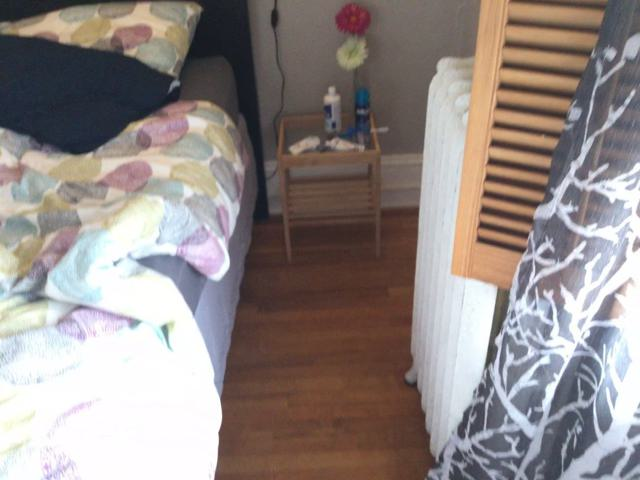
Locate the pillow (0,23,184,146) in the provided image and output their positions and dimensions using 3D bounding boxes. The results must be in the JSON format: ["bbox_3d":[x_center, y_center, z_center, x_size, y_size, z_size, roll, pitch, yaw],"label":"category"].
[{"bbox_3d":[-0.780,-0.460,1.630,0.640,0.160,0.410,9,36,15],"label":"pillow"}]

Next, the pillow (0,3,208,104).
[{"bbox_3d":[-0.720,-0.600,1.830,0.660,0.170,0.420,-3,35,-2],"label":"pillow"}]
